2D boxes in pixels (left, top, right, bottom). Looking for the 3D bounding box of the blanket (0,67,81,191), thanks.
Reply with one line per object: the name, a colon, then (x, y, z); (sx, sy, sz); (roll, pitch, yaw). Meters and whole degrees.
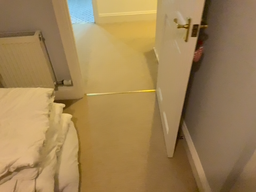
blanket: (-0.640, 0.290, 1.380); (0.540, 0.590, 0.750); (-6, 42, -5)
